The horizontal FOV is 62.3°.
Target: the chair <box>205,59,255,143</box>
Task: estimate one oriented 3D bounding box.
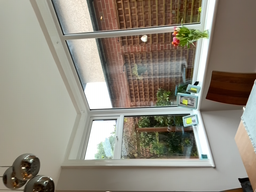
[{"bbox_3d":[1.160,0.020,1.600,0.420,0.970,0.470,81,-172,-45],"label":"chair"}]
